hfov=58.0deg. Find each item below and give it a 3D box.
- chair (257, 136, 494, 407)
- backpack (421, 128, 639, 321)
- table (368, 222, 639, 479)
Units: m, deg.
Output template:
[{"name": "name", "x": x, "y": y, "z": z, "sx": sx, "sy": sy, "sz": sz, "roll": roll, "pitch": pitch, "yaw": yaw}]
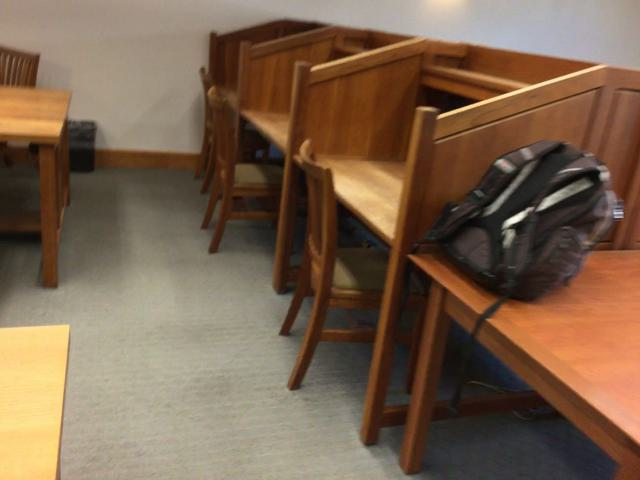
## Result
[{"name": "chair", "x": 0.170, "y": 0.100, "z": 2.370, "sx": 0.640, "sy": 0.890, "sz": 0.580, "roll": 0, "pitch": 22, "yaw": -22}, {"name": "backpack", "x": 0.610, "y": -0.060, "z": 1.590, "sx": 0.440, "sy": 0.380, "sz": 0.420, "roll": 0, "pitch": 22, "yaw": -22}, {"name": "table", "x": 1.210, "y": 0.510, "z": 1.800, "sx": 1.760, "sy": 0.830, "sz": 0.960, "roll": 0, "pitch": 22, "yaw": -22}]
